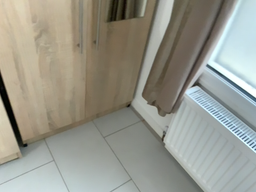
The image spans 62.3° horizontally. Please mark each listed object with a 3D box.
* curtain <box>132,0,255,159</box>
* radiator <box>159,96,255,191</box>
[{"bbox_3d":[0.310,-0.560,0.470,0.120,1.930,0.420,-19,50,-28],"label":"curtain"},{"bbox_3d":[0.520,0.500,0.860,0.060,0.480,1.020,-19,50,-28],"label":"radiator"}]
